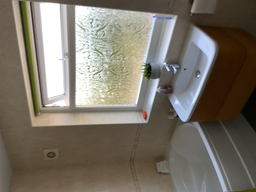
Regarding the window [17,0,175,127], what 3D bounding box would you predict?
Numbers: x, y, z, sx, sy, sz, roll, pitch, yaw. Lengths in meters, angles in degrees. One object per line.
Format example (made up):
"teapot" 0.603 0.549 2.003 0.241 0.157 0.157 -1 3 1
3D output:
"window" -0.320 -0.290 2.070 0.330 1.180 1.270 -109 24 -51
